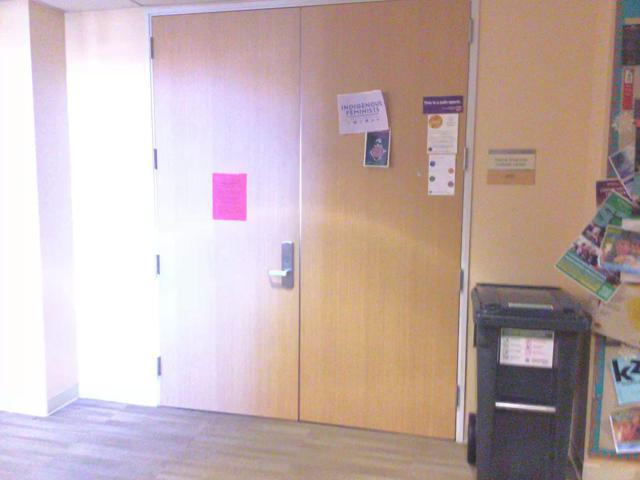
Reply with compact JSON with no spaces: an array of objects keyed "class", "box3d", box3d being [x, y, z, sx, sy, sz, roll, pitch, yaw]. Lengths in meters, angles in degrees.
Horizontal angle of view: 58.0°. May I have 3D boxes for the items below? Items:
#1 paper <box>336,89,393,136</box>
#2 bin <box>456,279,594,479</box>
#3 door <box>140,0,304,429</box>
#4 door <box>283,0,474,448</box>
[{"class":"paper","box3d":[0.230,-0.660,3.000,0.270,0.220,0.090,3,0,17]},{"class":"bin","box3d":[0.910,0.670,2.640,0.490,0.920,0.620,3,0,17]},{"class":"door","box3d":[-0.530,-0.130,3.260,0.840,2.310,0.250,1,6,11]},{"class":"door","box3d":[0.280,-0.100,3.060,0.940,2.300,0.150,3,7,17]}]
